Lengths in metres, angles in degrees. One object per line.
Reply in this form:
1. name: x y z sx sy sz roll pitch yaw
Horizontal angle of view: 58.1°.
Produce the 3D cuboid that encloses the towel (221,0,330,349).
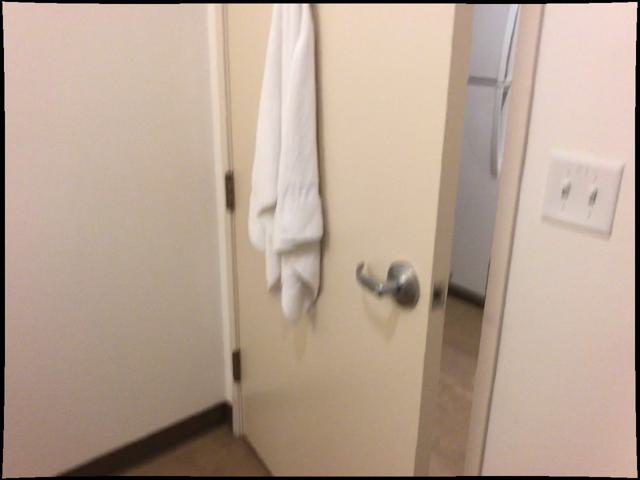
1. towel: -0.100 -0.190 1.340 0.120 0.872 0.230 -17 27 -36
